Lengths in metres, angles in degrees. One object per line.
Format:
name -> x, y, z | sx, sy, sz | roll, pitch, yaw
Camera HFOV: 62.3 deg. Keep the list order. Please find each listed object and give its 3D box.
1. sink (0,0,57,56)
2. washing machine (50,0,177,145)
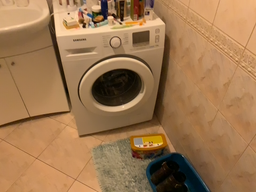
sink -> -0.820, -0.420, 1.270 | 0.700, 0.150, 0.460 | -12, 45, -14
washing machine -> -0.150, -0.230, 1.600 | 0.630, 0.840, 0.680 | -12, 45, -14
